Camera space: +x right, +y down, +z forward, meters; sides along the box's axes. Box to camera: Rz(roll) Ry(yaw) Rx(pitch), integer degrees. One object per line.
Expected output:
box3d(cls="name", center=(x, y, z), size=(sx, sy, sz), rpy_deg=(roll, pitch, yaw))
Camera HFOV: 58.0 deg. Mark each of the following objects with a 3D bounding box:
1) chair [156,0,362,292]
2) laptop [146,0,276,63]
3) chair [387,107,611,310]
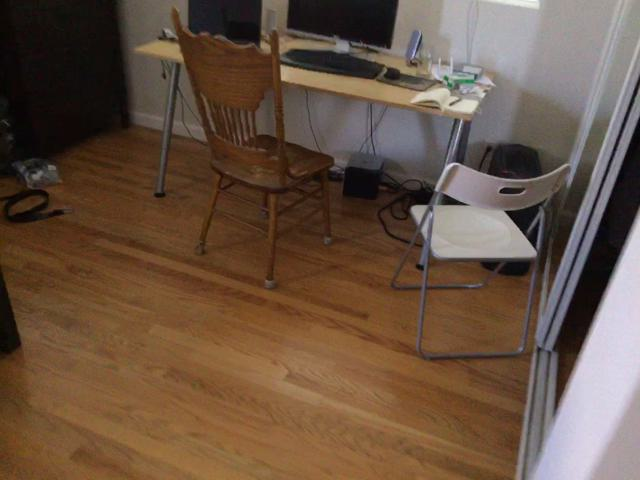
box3d(cls="chair", center=(-0.250, -0.420, 2.460), size=(0.590, 1.010, 0.570), rpy_deg=(15, 32, 15))
box3d(cls="laptop", center=(-0.510, -1.070, 2.820), size=(0.530, 0.240, 0.440), rpy_deg=(6, 31, 0))
box3d(cls="chair", center=(0.600, -0.130, 2.150), size=(0.540, 0.530, 0.550), rpy_deg=(2, 31, -6))
